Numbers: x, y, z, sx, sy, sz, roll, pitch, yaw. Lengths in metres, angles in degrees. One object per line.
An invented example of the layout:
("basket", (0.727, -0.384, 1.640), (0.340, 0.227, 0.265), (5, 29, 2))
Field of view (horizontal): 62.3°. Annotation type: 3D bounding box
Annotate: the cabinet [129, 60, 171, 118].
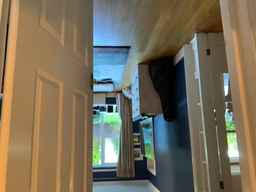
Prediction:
("cabinet", (0.350, -0.080, 3.820), (0.520, 0.870, 0.910), (0, 170, -7))
